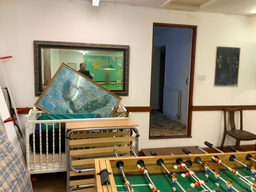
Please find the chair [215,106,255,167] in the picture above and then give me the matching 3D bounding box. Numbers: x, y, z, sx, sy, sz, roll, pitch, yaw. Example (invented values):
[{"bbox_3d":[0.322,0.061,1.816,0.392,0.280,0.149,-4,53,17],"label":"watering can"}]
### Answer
[{"bbox_3d":[2.010,0.670,3.740,0.560,0.910,0.590,0,7,-14],"label":"chair"}]
